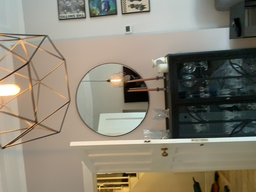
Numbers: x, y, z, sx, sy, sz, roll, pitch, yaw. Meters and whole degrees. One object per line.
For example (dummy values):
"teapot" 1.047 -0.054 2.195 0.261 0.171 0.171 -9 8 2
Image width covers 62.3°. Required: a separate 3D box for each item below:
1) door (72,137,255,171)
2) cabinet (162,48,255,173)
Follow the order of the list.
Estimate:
"door" 0.590 0.560 1.970 0.790 2.020 0.050 81 -173 -59
"cabinet" 0.960 0.120 2.040 0.350 1.170 1.090 -66 -27 -82
